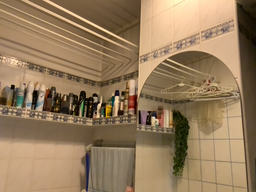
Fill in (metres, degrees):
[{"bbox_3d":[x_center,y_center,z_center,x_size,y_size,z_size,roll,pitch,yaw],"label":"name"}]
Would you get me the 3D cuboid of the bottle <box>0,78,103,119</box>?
[{"bbox_3d":[-0.650,0.010,1.380,0.130,0.140,1.120,-11,-19,44],"label":"bottle"}]
